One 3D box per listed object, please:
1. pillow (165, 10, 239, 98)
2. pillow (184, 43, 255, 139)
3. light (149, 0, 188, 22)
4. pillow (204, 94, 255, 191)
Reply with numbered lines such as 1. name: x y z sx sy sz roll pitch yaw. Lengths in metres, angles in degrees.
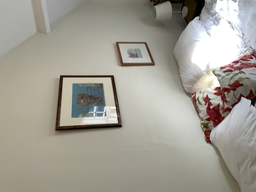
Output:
1. pillow: 0.620 -0.400 1.960 0.460 0.280 0.710 99 166 -46
2. pillow: 0.680 -0.020 1.540 0.610 0.270 0.360 98 166 -46
3. light: 0.480 -1.070 2.580 0.240 0.380 0.220 98 166 -45
4. pillow: 0.750 0.380 1.190 0.420 0.260 0.680 99 166 -46
